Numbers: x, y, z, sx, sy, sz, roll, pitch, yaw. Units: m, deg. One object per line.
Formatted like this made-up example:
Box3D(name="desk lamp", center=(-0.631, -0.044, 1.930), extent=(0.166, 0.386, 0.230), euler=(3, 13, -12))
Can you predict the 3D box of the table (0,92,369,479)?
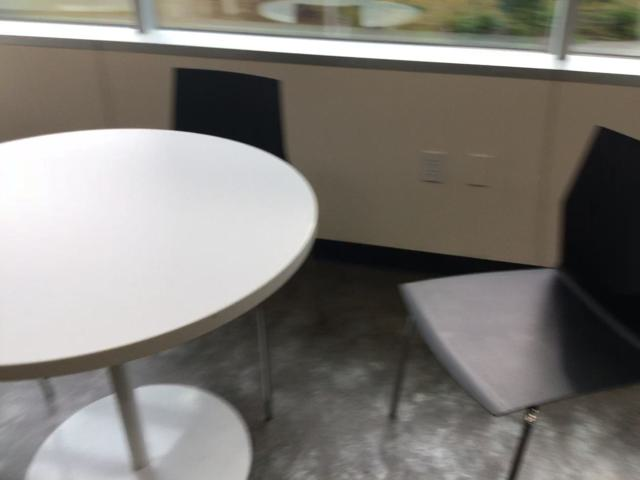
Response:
Box3D(name="table", center=(-0.450, 0.210, 1.280), extent=(0.920, 0.800, 0.930), euler=(7, 29, 14))
